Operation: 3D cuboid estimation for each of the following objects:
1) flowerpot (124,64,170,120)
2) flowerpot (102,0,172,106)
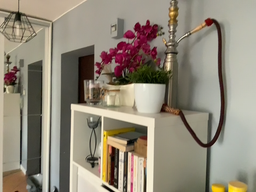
[{"bbox_3d":[0.090,-0.020,1.010,0.150,0.240,0.150,0,2,-40],"label":"flowerpot"},{"bbox_3d":[0.040,-0.260,1.350,0.190,0.610,0.430,0,2,-39],"label":"flowerpot"}]
